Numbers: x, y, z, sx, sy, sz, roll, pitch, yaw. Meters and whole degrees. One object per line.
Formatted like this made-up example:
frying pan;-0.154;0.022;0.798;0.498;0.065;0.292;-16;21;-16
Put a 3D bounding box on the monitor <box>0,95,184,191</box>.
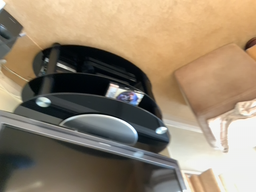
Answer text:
monitor;-0.100;0.370;0.820;0.900;0.620;0.040;23;124;-26
